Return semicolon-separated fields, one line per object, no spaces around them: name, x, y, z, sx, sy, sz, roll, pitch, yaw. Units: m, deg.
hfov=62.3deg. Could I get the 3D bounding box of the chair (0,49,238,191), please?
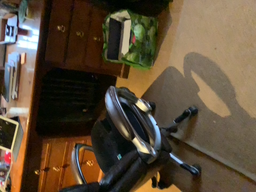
chair;-0.090;0.320;1.240;0.710;1.000;0.720;-54;52;32
